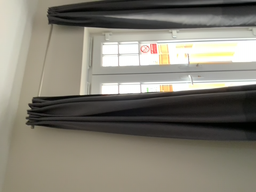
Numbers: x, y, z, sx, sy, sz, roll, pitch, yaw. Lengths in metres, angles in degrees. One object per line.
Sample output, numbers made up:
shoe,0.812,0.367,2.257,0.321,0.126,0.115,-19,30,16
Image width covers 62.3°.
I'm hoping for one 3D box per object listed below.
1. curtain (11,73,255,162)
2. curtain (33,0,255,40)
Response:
curtain,0.430,0.160,1.640,0.260,2.440,0.580,88,180,-69
curtain,0.400,-0.960,2.190,0.300,2.550,0.610,88,180,-67
